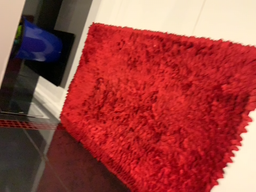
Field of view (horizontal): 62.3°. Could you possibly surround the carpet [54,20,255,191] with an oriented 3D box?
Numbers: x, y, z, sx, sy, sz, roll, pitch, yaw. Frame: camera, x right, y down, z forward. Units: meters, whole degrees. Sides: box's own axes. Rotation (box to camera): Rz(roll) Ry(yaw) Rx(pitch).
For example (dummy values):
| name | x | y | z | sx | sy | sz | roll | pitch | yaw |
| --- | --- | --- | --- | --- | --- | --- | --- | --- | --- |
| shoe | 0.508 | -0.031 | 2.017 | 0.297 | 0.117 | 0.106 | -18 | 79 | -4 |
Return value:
| name | x | y | z | sx | sy | sz | roll | pitch | yaw |
| --- | --- | --- | --- | --- | --- | --- | --- | --- | --- |
| carpet | -0.020 | 0.030 | 0.770 | 0.730 | 0.030 | 0.570 | 25 | 99 | 44 |
